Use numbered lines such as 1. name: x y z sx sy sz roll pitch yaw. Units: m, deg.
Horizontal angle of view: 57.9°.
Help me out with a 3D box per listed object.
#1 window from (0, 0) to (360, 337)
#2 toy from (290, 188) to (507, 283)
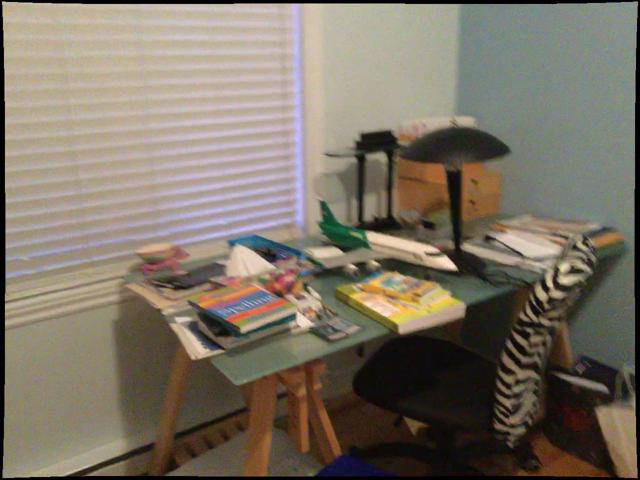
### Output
1. window: -0.490 -0.601 1.710 1.389 1.531 0.190 -14 23 -32
2. toy: 0.250 -0.040 1.920 0.420 0.100 0.570 -19 26 -41
